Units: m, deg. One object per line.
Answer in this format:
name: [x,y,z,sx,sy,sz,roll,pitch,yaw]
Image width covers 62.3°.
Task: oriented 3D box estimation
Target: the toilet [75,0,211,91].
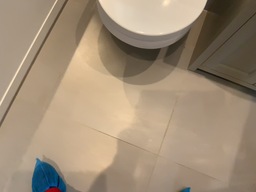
toilet: [0.100,-0.380,0.910,0.370,0.470,0.530,21,78,2]
